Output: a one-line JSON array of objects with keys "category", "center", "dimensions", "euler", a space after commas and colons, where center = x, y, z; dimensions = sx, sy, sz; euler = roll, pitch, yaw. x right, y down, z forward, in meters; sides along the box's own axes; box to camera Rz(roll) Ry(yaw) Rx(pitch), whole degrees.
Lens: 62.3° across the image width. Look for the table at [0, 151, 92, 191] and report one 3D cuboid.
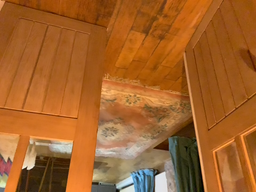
[{"category": "table", "center": [-1.900, 1.970, 4.860], "dimensions": [1.920, 0.960, 0.900], "euler": [11, 148, -16]}]
